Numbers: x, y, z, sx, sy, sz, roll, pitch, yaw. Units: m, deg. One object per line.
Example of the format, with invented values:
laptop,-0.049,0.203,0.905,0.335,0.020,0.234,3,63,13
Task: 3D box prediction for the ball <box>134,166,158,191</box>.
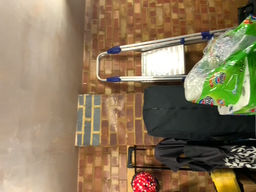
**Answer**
ball,0.140,0.690,1.690,0.140,0.180,0.240,79,-170,-74
